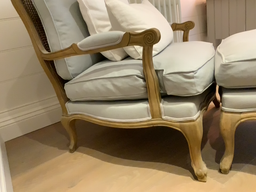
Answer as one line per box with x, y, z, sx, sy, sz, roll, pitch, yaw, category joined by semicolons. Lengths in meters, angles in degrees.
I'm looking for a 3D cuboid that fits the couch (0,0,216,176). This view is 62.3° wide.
0.000;-0.230;1.190;0.860;0.880;0.760;0;20;25;couch

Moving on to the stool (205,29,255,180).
0.660;-0.040;0.970;0.500;0.460;0.730;0;20;25;stool
